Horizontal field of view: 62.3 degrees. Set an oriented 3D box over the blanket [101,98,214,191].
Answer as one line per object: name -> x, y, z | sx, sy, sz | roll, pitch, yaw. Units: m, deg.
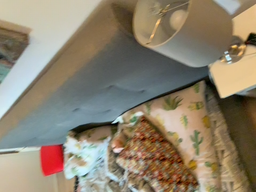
blanket -> 0.130, 0.390, 1.240 | 0.580, 0.170, 0.580 | -29, 66, 40
